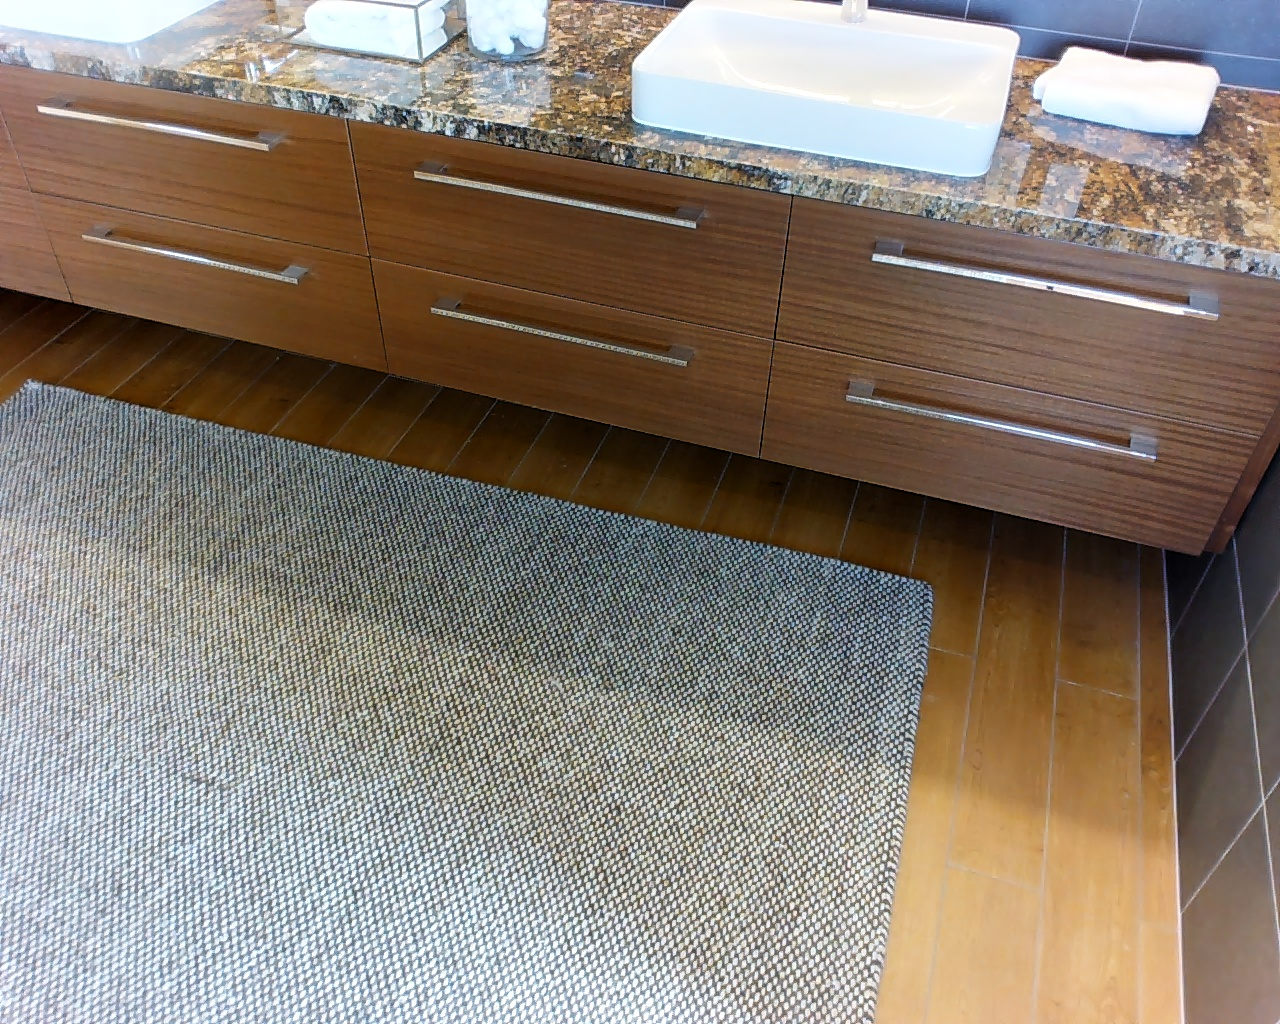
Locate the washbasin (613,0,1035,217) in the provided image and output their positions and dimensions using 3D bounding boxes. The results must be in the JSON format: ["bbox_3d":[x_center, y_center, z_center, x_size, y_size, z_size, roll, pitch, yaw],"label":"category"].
[{"bbox_3d":[0.330,-0.740,1.870,0.630,0.150,0.480,13,44,13],"label":"washbasin"}]

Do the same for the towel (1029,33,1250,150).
[{"bbox_3d":[0.860,-0.730,1.850,0.310,0.060,0.240,20,46,19],"label":"towel"}]
